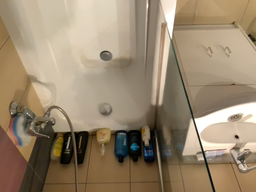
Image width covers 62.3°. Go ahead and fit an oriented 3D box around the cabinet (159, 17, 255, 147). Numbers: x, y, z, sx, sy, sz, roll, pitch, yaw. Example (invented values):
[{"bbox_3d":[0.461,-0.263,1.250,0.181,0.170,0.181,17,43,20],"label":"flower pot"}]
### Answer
[{"bbox_3d":[0.500,-0.130,1.300,0.490,0.780,0.350,-2,136,0],"label":"cabinet"}]
